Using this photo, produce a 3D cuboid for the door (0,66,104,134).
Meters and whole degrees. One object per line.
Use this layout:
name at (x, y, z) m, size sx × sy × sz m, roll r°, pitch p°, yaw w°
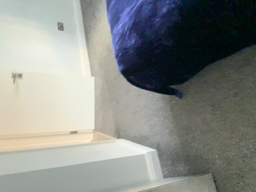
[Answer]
door at (-1.260, 0.050, 2.500) m, size 0.090 × 2.110 × 0.750 m, roll -7°, pitch 82°, yaw 56°
